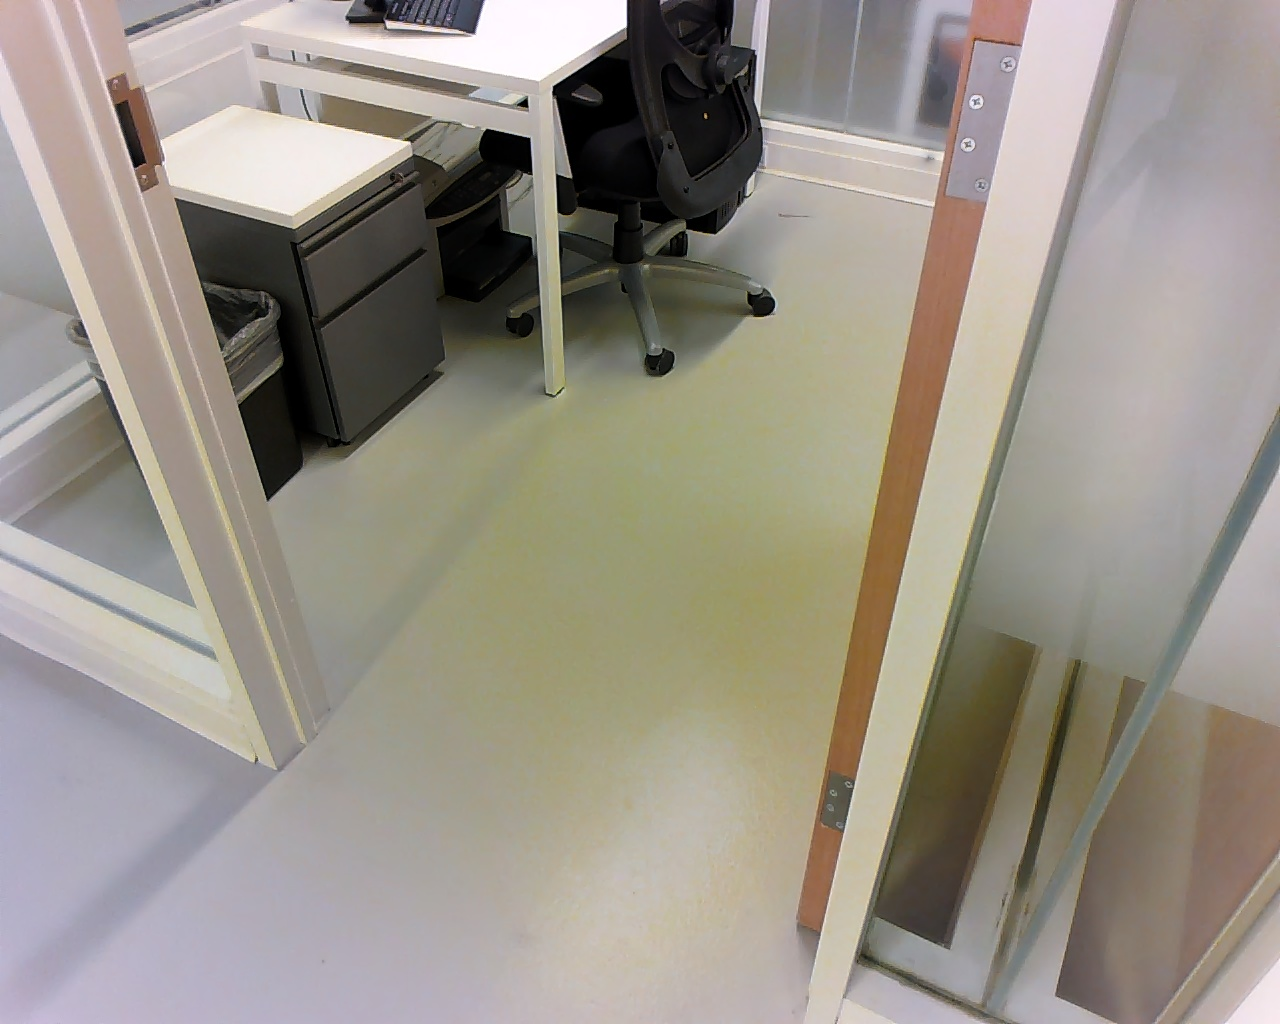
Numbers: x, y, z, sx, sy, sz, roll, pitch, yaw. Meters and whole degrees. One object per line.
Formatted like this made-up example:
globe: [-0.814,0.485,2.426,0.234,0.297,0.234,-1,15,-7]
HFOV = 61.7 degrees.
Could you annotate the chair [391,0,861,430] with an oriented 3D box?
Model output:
chair: [0.030,-0.960,2.520,0.700,1.050,0.950,16,44,18]

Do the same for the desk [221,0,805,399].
desk: [-0.220,-1.030,2.800,0.880,0.720,1.250,18,45,20]

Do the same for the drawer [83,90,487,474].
drawer: [-0.740,-0.520,2.370,0.590,0.580,0.450,18,45,20]
